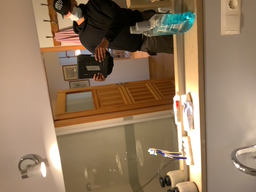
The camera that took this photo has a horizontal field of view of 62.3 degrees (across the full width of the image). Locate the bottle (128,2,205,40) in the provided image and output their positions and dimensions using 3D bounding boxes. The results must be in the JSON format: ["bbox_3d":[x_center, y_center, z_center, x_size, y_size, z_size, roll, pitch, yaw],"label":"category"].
[{"bbox_3d":[0.160,-0.320,0.920,0.170,0.280,0.120,-137,40,-72],"label":"bottle"}]
